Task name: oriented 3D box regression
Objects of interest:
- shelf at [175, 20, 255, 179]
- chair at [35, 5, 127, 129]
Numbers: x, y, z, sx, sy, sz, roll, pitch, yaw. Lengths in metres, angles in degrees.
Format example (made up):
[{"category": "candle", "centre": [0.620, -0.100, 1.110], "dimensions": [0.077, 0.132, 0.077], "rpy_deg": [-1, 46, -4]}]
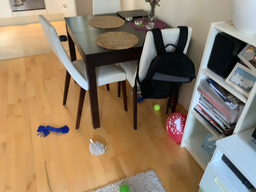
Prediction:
[{"category": "shelf", "centre": [0.640, 0.070, 1.460], "dimensions": [0.290, 1.030, 0.380], "rpy_deg": [-13, 39, -19]}, {"category": "chair", "centre": [-0.390, -0.270, 1.950], "dimensions": [0.570, 0.920, 0.460], "rpy_deg": [-21, 43, -28]}]
